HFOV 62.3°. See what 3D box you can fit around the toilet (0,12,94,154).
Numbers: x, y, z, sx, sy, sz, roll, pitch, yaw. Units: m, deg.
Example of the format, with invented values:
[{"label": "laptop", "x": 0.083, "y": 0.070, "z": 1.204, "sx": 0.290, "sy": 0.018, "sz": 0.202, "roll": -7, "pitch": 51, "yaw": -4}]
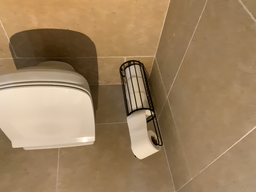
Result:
[{"label": "toilet", "x": -0.360, "y": -0.030, "z": 0.980, "sx": 0.370, "sy": 0.380, "sz": 0.540, "roll": -3, "pitch": 146, "yaw": -9}]
